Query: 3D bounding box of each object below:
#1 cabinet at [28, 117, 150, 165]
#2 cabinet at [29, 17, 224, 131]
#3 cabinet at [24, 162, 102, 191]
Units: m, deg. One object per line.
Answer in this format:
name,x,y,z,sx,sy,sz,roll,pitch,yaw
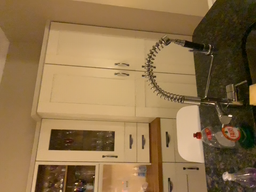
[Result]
cabinet,-0.450,0.600,2.730,0.350,1.420,0.510,119,154,-69
cabinet,0.020,-0.230,2.950,0.640,2.300,1.220,119,154,-69
cabinet,-0.750,1.280,2.460,0.310,0.830,0.950,119,154,-69
